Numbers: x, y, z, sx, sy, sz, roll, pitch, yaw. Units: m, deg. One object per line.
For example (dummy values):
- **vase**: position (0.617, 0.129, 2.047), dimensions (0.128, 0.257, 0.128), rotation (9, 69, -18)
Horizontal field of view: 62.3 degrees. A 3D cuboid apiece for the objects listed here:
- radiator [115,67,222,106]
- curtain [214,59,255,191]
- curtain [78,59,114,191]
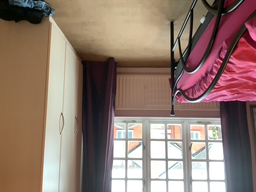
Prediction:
- **radiator**: position (0.580, -0.140, 3.120), dimensions (1.520, 0.570, 0.100), rotation (0, 171, 0)
- **curtain**: position (1.470, 0.680, 2.850), dimensions (0.340, 2.350, 0.320), rotation (1, 171, -3)
- **curtain**: position (-0.410, 0.670, 2.810), dimensions (0.400, 2.340, 0.240), rotation (1, 171, -2)
